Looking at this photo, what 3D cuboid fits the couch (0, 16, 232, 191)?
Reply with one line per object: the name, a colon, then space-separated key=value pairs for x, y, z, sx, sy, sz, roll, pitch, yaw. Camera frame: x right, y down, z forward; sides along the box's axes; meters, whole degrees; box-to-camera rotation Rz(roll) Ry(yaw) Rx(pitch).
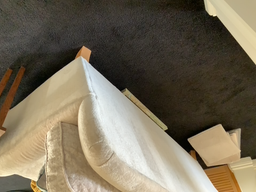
couch: x=-0.030 y=0.620 z=1.530 sx=1.060 sy=0.940 sz=1.750 roll=-30 pitch=131 yaw=22
